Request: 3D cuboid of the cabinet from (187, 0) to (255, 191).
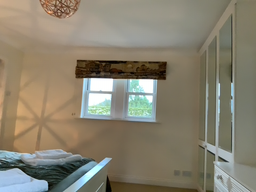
[{"bbox_3d":[1.030,0.240,2.660,0.200,2.360,1.930,2,-6,6],"label":"cabinet"}]
